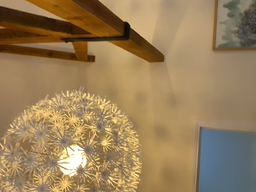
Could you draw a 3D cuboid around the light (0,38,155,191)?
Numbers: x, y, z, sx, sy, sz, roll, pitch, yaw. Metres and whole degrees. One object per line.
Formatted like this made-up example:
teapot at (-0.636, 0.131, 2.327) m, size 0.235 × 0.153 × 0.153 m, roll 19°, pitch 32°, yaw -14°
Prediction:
light at (-0.880, 0.330, 1.700) m, size 0.930 × 0.840 × 2.030 m, roll 15°, pitch 168°, yaw -37°
